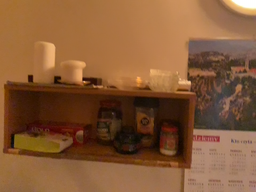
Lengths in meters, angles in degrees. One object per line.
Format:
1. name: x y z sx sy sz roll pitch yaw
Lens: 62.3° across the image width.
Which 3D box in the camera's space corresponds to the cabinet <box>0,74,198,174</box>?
1. cabinet: -0.110 0.080 0.760 0.640 0.290 0.210 2 2 3
